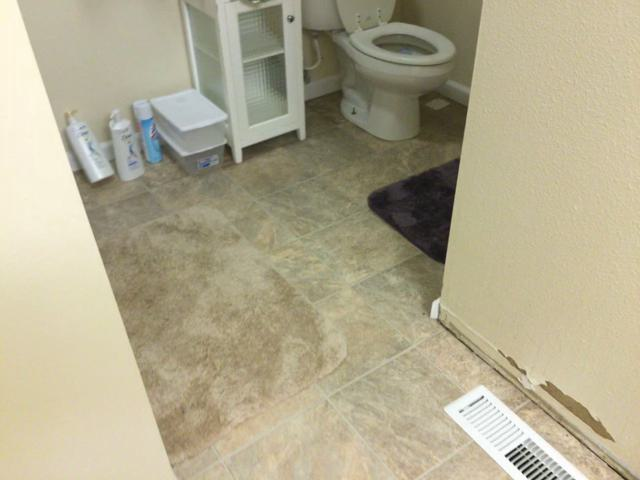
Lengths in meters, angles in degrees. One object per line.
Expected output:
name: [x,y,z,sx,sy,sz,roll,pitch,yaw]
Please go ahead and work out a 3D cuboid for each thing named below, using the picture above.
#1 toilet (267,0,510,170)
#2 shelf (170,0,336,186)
toilet: [0.280,-0.860,2.420,0.820,0.760,0.540,-23,42,-25]
shelf: [-0.260,-0.770,2.270,0.450,0.910,0.470,-23,42,-25]
